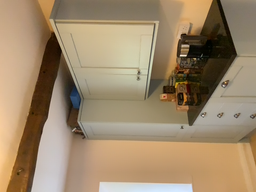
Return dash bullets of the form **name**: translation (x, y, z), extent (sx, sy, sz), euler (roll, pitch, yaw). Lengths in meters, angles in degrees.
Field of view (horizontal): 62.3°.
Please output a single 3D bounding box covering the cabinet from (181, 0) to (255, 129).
- **cabinet**: translation (1.140, -0.200, 1.960), extent (1.130, 0.990, 0.620), euler (91, -179, -60)
